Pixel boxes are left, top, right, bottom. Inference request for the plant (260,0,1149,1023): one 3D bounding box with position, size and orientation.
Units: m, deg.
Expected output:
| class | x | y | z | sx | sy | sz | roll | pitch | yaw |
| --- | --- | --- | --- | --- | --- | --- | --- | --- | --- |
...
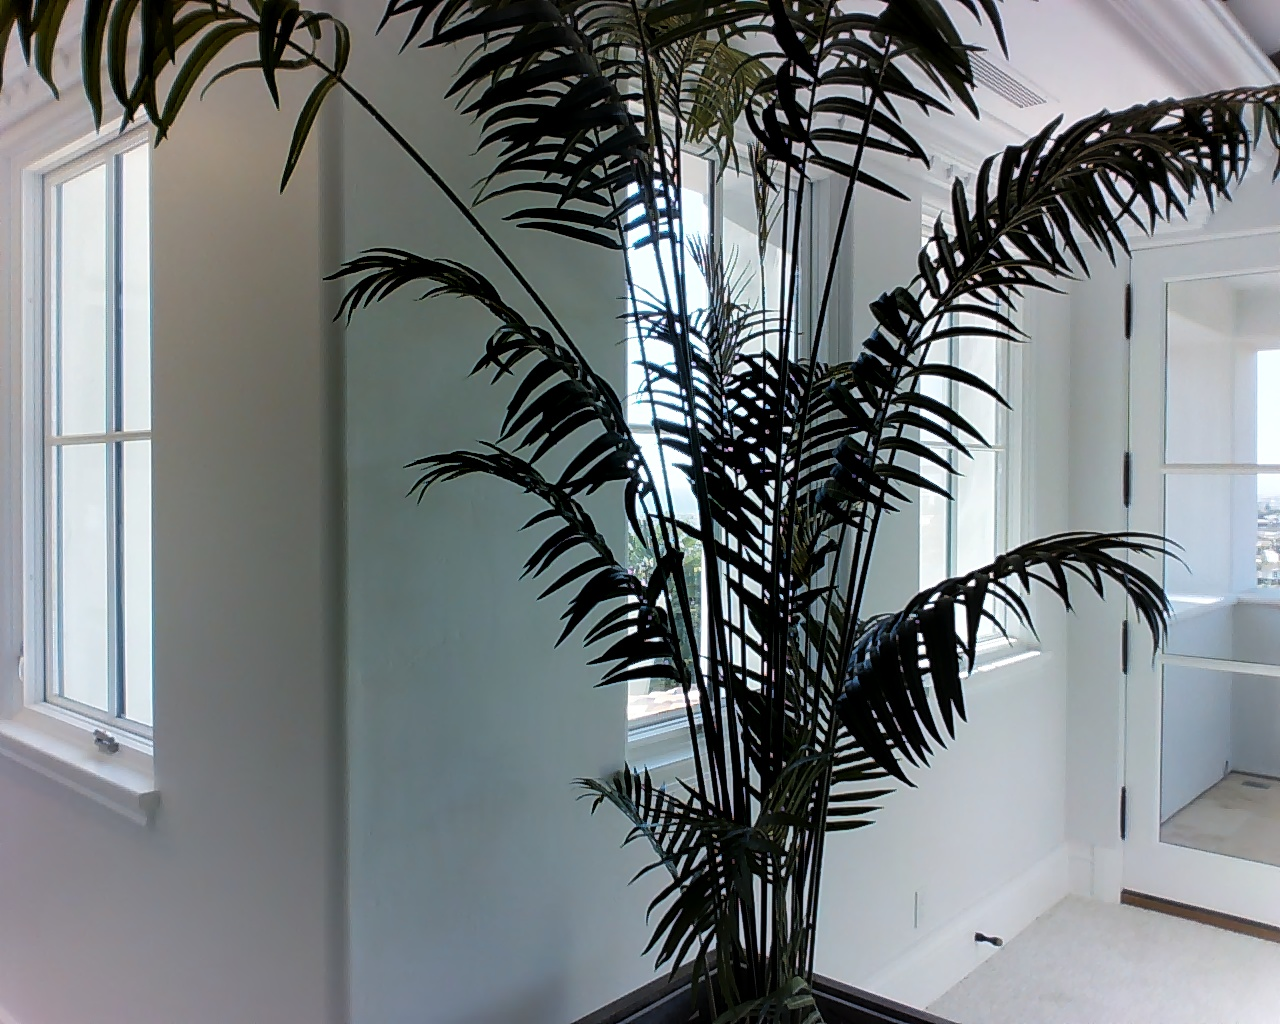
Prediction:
| class | x | y | z | sx | sy | sz | roll | pitch | yaw |
| --- | --- | --- | --- | --- | --- | --- | --- | --- | --- |
| plant | 0.090 | -0.180 | 1.750 | 1.260 | 2.241 | 0.450 | 0 | 1 | -3 |
